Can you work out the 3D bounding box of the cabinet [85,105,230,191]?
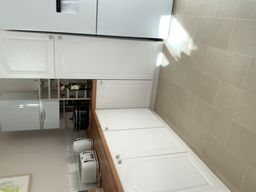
[{"bbox_3d":[0.120,0.690,2.320,1.490,0.950,0.590,-128,42,-61],"label":"cabinet"}]
